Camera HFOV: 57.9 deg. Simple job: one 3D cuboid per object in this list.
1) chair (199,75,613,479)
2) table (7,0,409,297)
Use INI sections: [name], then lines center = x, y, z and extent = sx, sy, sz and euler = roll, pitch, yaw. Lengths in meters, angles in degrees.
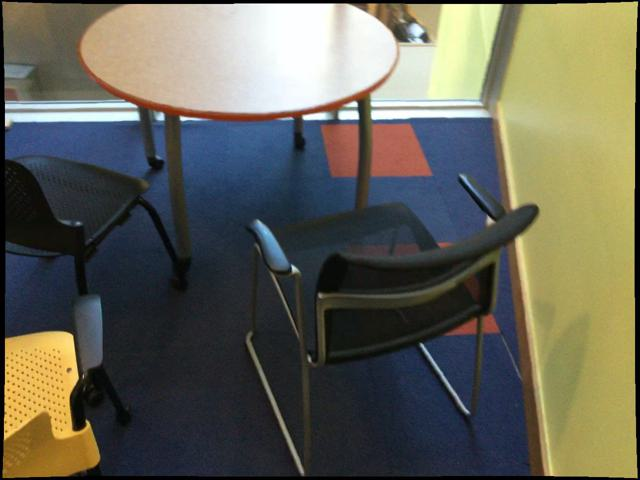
[chair]
center = 0.120, 0.100, 1.500
extent = 0.699, 0.750, 0.640
euler = -10, 44, -14
[table]
center = -0.270, -0.490, 2.190
extent = 1.079, 0.680, 1.080
euler = 8, 43, 5
